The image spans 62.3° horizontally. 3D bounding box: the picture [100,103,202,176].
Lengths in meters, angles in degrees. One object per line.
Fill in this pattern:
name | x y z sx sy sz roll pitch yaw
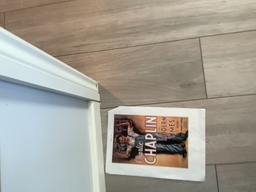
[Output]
picture | 0.070 0.130 0.660 0.300 0.030 0.200 2 85 8
